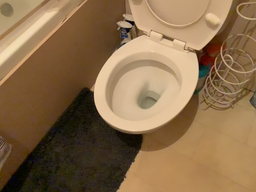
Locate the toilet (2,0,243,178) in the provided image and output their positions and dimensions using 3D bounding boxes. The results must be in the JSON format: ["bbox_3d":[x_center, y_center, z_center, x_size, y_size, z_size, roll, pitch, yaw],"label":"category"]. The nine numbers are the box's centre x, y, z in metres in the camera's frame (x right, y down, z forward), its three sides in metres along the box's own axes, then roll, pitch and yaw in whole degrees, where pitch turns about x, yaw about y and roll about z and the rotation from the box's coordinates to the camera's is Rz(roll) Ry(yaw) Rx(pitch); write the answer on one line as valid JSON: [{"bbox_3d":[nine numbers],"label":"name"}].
[{"bbox_3d":[0.110,-0.160,0.850,0.420,0.780,0.670,26,64,17],"label":"toilet"}]
